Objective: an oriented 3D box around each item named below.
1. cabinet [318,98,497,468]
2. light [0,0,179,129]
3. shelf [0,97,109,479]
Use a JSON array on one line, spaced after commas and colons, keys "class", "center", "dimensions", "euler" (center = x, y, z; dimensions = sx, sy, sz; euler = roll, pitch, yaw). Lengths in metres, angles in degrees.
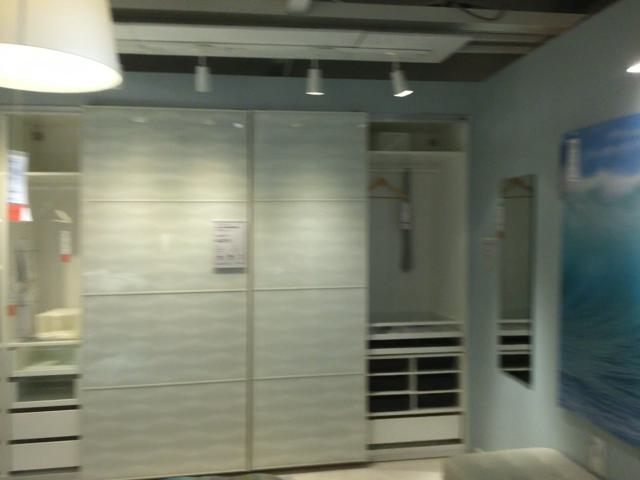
[{"class": "cabinet", "center": [0.540, 0.290, 4.000], "dimensions": [0.710, 2.350, 0.660], "euler": [7, 8, -9]}, {"class": "light", "center": [-0.870, -0.710, 1.950], "dimensions": [0.660, 0.440, 0.750], "euler": [7, -1, -9]}, {"class": "shelf", "center": [-1.960, 0.290, 3.540], "dimensions": [0.960, 2.240, 0.480], "euler": [7, 3, -9]}]
